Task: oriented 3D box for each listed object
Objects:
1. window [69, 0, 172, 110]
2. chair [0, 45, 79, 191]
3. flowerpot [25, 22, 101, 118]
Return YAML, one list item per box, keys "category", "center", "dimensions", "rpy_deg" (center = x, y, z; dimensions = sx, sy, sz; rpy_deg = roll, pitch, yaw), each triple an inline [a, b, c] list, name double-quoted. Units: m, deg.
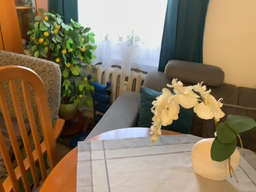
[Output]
- category: "window"
  center: [-0.060, -0.890, 1.670]
  dimensions: [0.820, 2.020, 0.160]
  rpy_deg: [12, 27, 13]
- category: "chair"
  center: [-0.810, 0.290, 1.300]
  dimensions: [0.640, 0.950, 0.810]
  rpy_deg: [14, 28, 16]
- category: "flowerpot"
  center: [-0.550, -0.250, 1.910]
  dimensions: [0.470, 0.700, 0.390]
  rpy_deg: [12, 27, 13]
